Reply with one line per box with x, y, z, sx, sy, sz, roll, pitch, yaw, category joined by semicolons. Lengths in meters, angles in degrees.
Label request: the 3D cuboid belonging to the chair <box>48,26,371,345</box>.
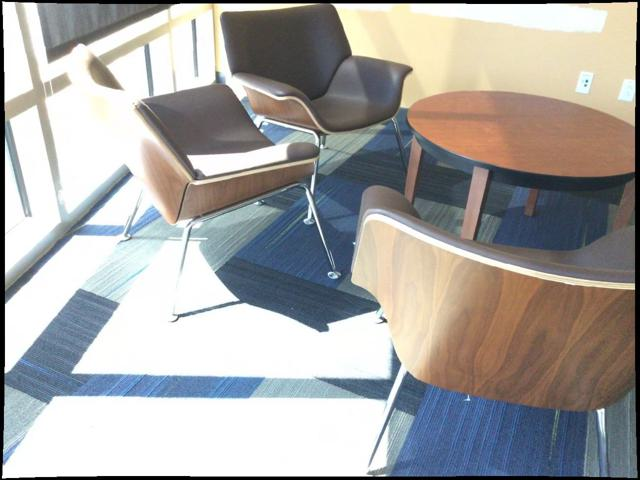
-0.429;-0.281;2.150;0.858;0.761;0.840;-13;36;-24;chair

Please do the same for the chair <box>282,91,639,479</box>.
0.439;0.160;1.470;0.858;0.751;0.770;11;33;12;chair

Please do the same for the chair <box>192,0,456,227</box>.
0.000;-0.692;2.870;0.899;0.731;0.839;-23;41;-34;chair
